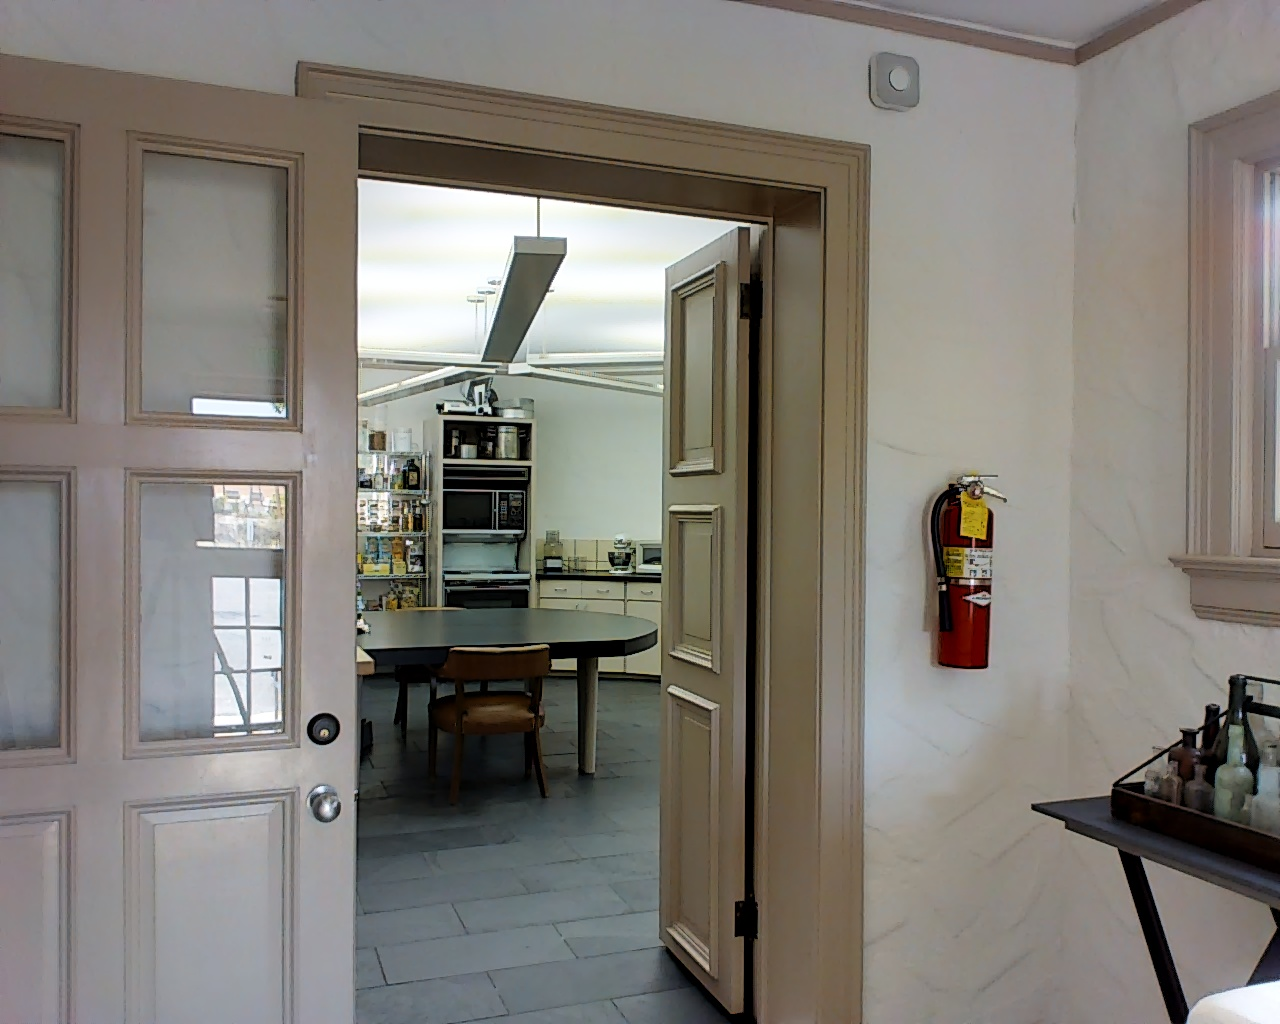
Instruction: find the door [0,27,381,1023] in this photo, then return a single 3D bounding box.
[{"bbox_3d":[-0.960,0.260,1.970,0.920,2.200,0.070,1,0,-24],"label":"door"}]
